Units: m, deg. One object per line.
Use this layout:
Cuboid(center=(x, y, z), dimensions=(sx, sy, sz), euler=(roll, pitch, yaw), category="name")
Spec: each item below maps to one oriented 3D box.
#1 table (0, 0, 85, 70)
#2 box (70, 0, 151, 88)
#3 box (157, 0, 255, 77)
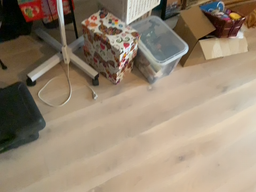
Cuboid(center=(-0.690, -0.650, 1.370), dimensions=(0.610, 0.640, 0.510), euler=(-22, 64, -17), category="table")
Cuboid(center=(-0.120, -0.370, 1.430), dimensions=(0.290, 0.390, 0.400), euler=(-37, 69, -23), category="box")
Cuboid(center=(0.660, -0.590, 1.620), dimensions=(0.580, 0.390, 0.670), euler=(-15, 63, -13), category="box")
